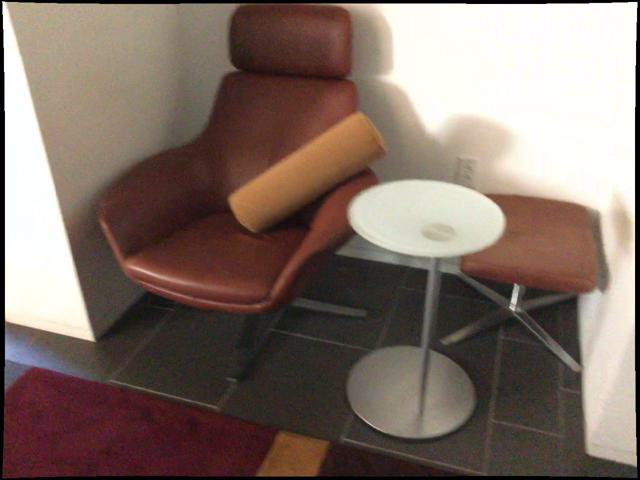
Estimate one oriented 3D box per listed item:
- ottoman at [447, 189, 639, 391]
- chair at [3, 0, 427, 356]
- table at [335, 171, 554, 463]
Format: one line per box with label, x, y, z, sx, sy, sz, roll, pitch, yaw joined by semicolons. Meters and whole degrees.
ottoman;0.768;0.150;2.060;0.519;0.401;0.530;9;35;15
chair;-0.209;-0.311;1.930;0.928;0.761;0.960;9;35;15
table;0.349;0.221;1.730;0.509;0.681;0.440;7;35;13
